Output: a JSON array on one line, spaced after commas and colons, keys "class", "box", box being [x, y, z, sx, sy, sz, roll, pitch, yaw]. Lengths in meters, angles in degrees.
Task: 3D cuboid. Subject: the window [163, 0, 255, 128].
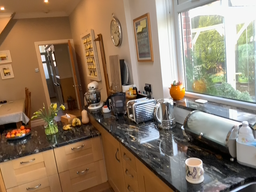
[{"class": "window", "box": [0.840, -0.470, 1.530, 0.220, 1.330, 1.670, -12, 13, -22]}]
